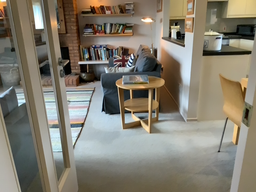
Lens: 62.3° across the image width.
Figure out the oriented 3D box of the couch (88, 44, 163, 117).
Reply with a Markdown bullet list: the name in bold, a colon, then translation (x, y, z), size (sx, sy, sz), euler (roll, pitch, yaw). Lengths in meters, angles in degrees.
- **couch**: translation (-0.060, -0.390, 3.690), size (0.980, 0.820, 1.710), euler (-3, 19, -2)

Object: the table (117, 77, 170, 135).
- **table**: translation (0.180, 0.100, 2.650), size (0.570, 0.540, 0.550), euler (-2, 19, 1)
